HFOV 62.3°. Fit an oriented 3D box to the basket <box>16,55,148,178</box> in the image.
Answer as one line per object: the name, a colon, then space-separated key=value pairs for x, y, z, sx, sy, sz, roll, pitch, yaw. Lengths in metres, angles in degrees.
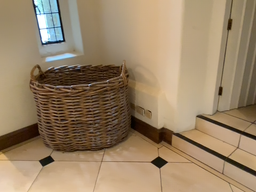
basket: x=-0.480 y=0.100 z=2.490 sx=1.110 sy=0.830 sz=0.920 roll=-22 pitch=31 yaw=-38
